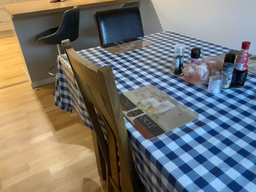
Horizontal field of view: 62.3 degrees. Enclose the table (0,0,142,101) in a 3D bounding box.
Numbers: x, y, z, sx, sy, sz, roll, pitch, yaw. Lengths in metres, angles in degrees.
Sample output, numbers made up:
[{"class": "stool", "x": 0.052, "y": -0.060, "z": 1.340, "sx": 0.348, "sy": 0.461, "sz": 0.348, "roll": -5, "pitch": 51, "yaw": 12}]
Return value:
[{"class": "table", "x": -0.740, "y": -0.790, "z": 2.900, "sx": 1.530, "sy": 0.910, "sz": 1.020, "roll": -22, "pitch": 36, "yaw": -28}]
